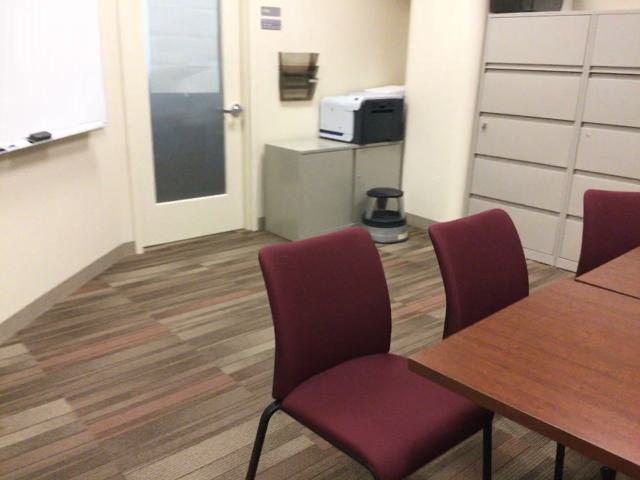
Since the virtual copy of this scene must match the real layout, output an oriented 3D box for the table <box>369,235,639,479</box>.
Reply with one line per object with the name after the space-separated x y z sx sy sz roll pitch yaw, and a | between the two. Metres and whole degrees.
0.930 0.550 1.540 1.460 0.750 0.790 -13 23 -38 | table
